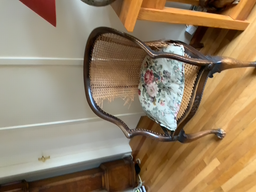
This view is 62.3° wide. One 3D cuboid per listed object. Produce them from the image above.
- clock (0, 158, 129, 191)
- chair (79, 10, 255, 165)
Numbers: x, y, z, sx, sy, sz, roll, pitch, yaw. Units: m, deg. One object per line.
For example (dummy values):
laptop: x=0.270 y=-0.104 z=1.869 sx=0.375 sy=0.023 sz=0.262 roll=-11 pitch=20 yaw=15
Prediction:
clock: x=-0.700 y=0.960 z=2.210 sx=0.350 sy=1.370 sz=0.280 roll=-51 pitch=49 yaw=53
chair: x=0.200 y=-0.090 z=1.270 sx=0.600 sy=0.800 sz=0.560 roll=55 pitch=140 yaw=46
